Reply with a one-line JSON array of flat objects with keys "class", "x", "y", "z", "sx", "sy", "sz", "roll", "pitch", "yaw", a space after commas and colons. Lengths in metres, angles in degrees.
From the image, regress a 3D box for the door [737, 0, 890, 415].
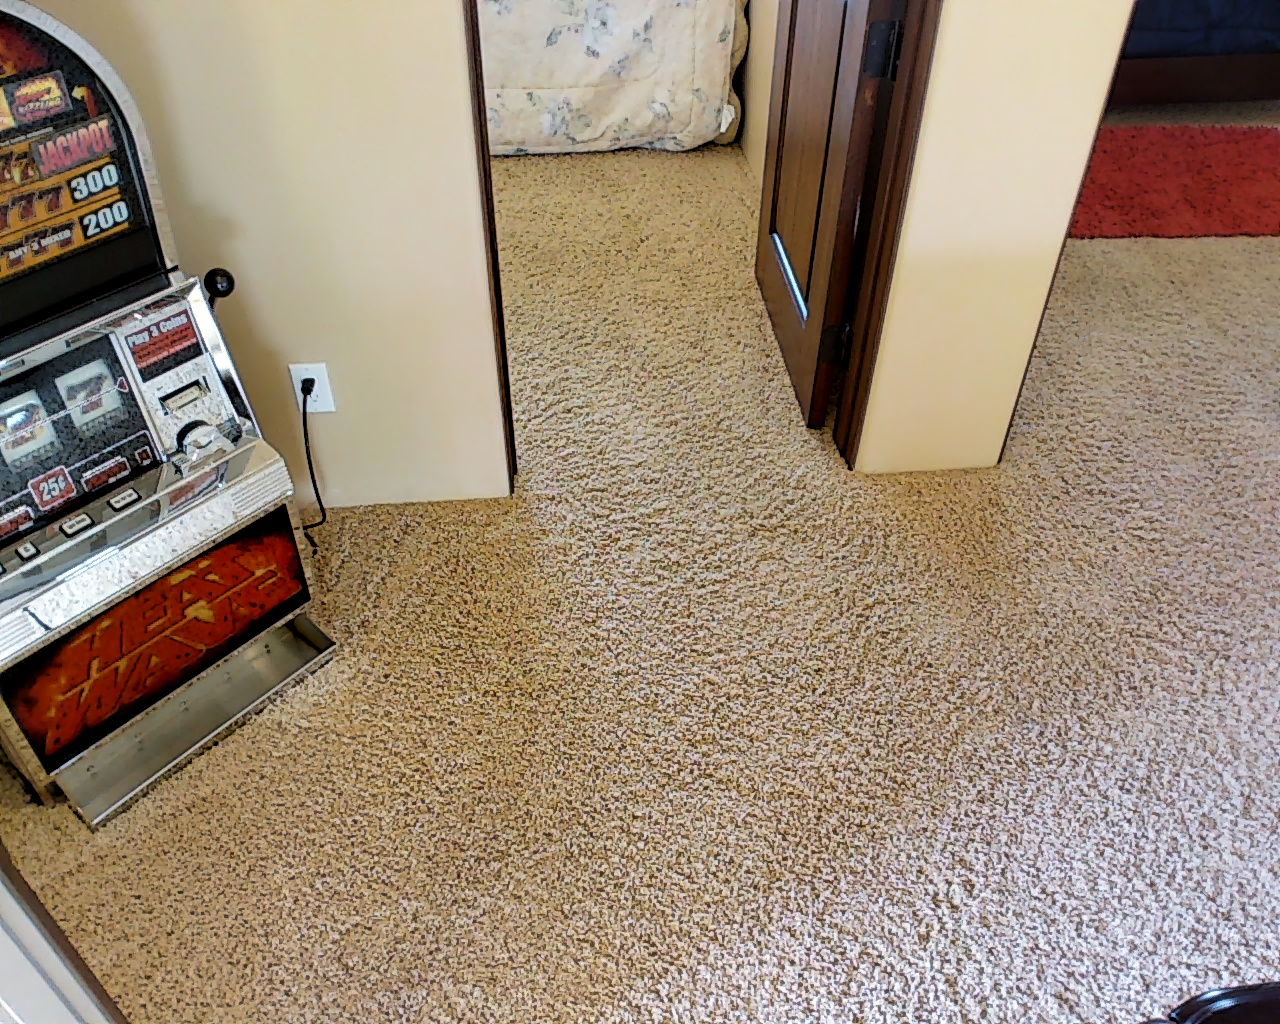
[{"class": "door", "x": 0.380, "y": -1.419, "z": 2.010, "sx": 0.060, "sy": 2.489, "sz": 0.800, "roll": -4, "pitch": 43, "yaw": -5}]
